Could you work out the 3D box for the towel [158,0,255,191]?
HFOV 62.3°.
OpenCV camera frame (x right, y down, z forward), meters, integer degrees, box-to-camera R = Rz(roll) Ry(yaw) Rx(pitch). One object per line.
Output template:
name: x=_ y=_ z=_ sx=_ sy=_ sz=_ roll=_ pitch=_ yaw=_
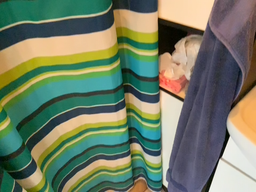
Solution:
towel: x=0.200 y=0.100 z=0.670 sx=0.150 sy=0.980 sz=0.070 roll=30 pitch=51 yaw=33
